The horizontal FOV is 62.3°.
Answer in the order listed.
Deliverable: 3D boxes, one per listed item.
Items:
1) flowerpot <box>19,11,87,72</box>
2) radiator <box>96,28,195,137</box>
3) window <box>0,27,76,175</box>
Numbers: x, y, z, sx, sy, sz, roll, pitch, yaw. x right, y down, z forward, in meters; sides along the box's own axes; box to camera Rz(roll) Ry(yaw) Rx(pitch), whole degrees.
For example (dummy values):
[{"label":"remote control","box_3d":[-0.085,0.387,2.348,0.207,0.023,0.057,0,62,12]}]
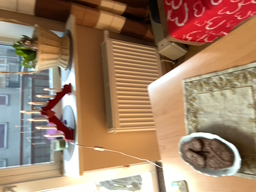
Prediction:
[{"label":"flowerpot","box_3d":[-0.540,-0.360,1.510,0.280,0.400,0.270,-19,72,57]},{"label":"radiator","box_3d":[0.150,-0.100,1.710,0.140,0.730,0.780,-32,61,54]},{"label":"window","box_3d":[-1.050,0.020,1.330,0.240,1.360,0.950,-23,69,56]}]
